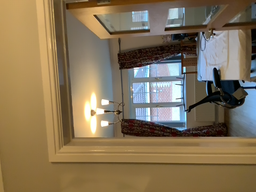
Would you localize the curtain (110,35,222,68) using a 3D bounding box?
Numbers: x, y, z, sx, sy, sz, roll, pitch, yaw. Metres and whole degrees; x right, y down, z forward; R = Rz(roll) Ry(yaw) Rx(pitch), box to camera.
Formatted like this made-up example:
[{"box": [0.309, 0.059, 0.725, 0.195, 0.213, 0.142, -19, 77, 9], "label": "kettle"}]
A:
[{"box": [0.750, -0.910, 4.430, 0.260, 2.230, 0.550, -40, -52, -82], "label": "curtain"}]

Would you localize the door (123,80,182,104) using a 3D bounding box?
[{"box": [0.560, -0.090, 4.970, 0.160, 1.340, 0.500, -40, -52, -82], "label": "door"}]

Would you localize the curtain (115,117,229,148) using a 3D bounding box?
[{"box": [0.920, 0.800, 4.650, 0.250, 2.380, 0.610, -46, -46, -81], "label": "curtain"}]

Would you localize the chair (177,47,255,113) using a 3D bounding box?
[{"box": [1.240, -0.190, 2.740, 0.720, 1.080, 0.710, -20, -72, -83], "label": "chair"}]
